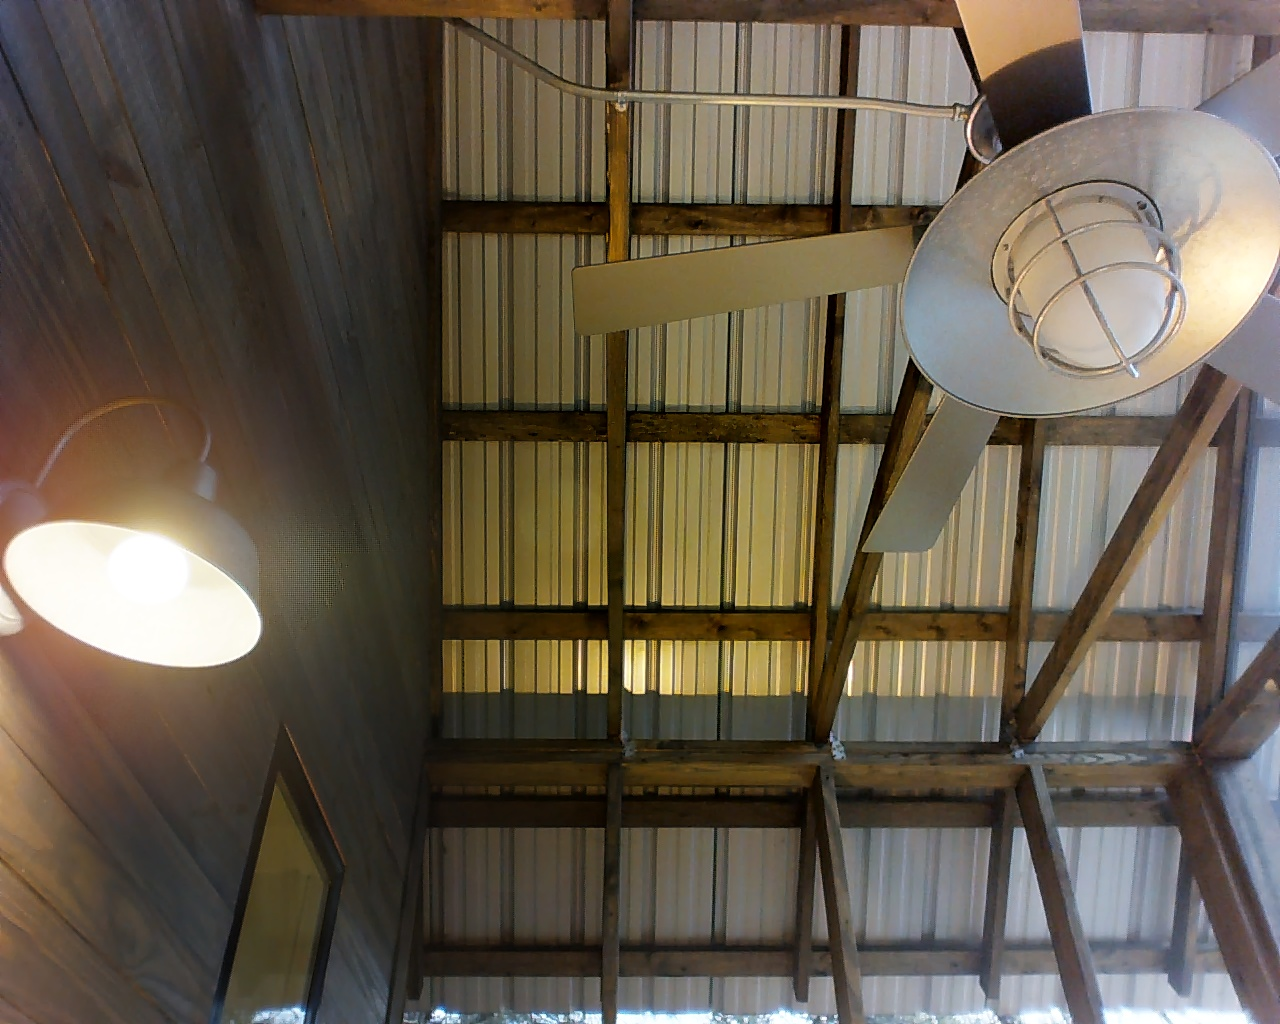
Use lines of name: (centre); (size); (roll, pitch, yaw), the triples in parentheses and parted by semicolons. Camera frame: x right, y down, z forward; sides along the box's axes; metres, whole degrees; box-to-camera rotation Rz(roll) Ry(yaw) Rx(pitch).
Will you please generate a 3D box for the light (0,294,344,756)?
light: (-0.460, 0.010, 1.010); (0.260, 0.340, 0.260); (2, -41, -2)
